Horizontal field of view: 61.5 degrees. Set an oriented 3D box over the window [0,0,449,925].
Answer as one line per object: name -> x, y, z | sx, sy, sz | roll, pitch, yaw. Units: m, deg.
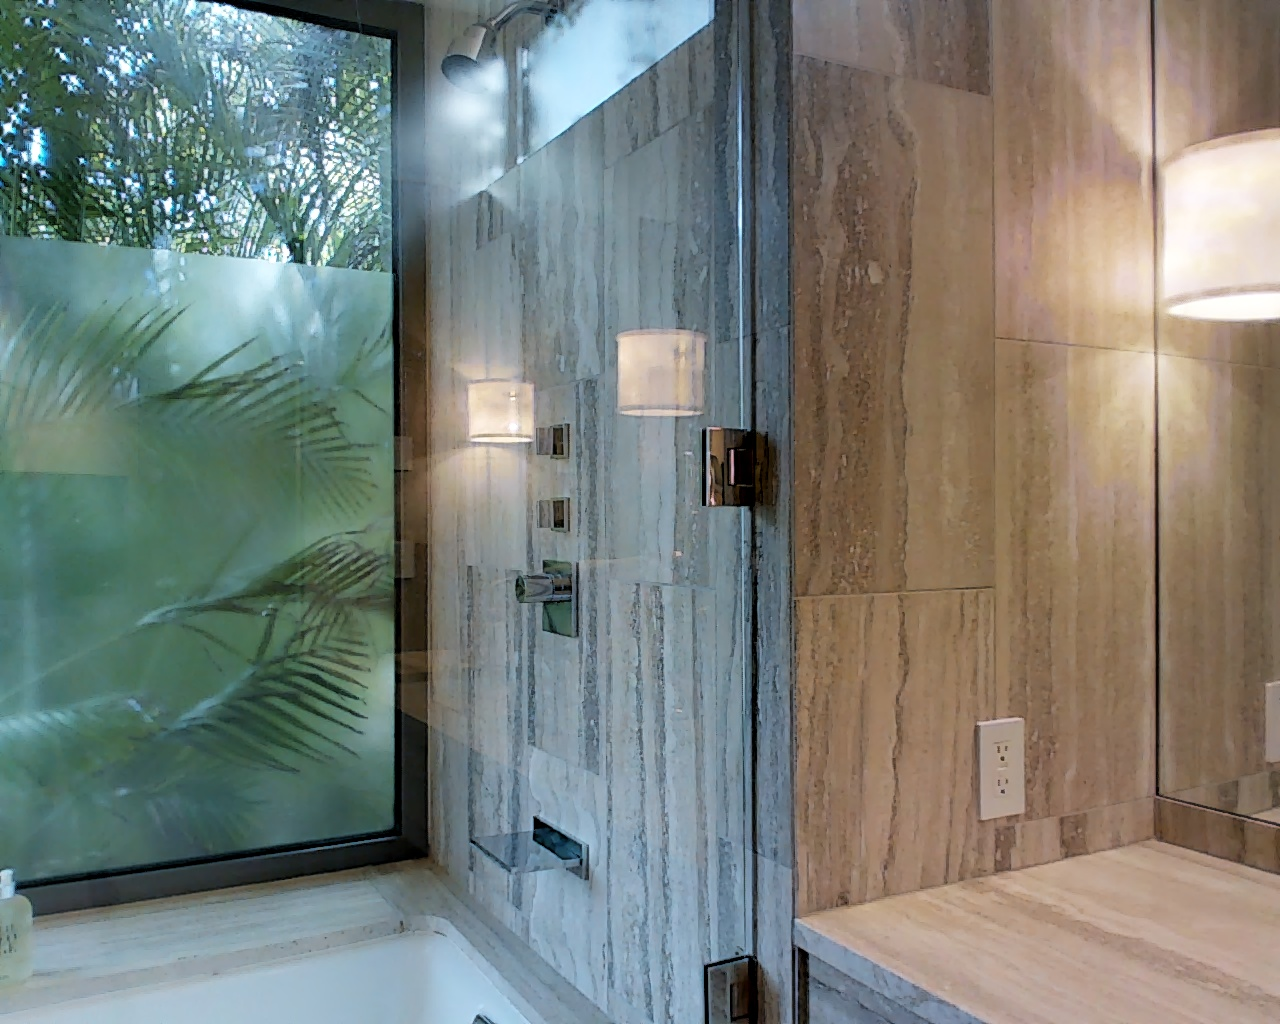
window -> -1.390, -0.170, 1.910 | 2.130, 1.860, 0.090 | -1, 0, -29
